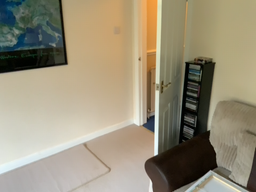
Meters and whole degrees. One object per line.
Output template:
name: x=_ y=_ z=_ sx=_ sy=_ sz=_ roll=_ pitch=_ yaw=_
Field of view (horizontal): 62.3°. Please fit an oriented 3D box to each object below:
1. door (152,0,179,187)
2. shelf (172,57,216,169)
door: x=0.370 y=-0.170 z=2.060 sx=0.040 sy=2.030 sz=0.710 roll=7 pitch=22 yaw=20
shelf: x=0.680 y=0.190 z=2.270 sx=0.200 sy=1.160 sz=0.280 roll=-15 pitch=25 yaw=-34
